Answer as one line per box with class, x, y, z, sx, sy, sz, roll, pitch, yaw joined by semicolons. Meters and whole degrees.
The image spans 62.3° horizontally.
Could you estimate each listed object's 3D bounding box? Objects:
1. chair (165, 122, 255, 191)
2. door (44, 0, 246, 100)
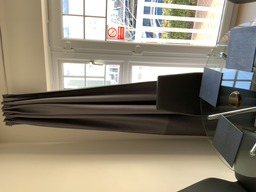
chair;0.840;0.550;1.490;0.470;1.000;0.600;-122;33;-73
door;0.240;-0.940;2.250;0.070;2.140;2.040;-117;29;-71
